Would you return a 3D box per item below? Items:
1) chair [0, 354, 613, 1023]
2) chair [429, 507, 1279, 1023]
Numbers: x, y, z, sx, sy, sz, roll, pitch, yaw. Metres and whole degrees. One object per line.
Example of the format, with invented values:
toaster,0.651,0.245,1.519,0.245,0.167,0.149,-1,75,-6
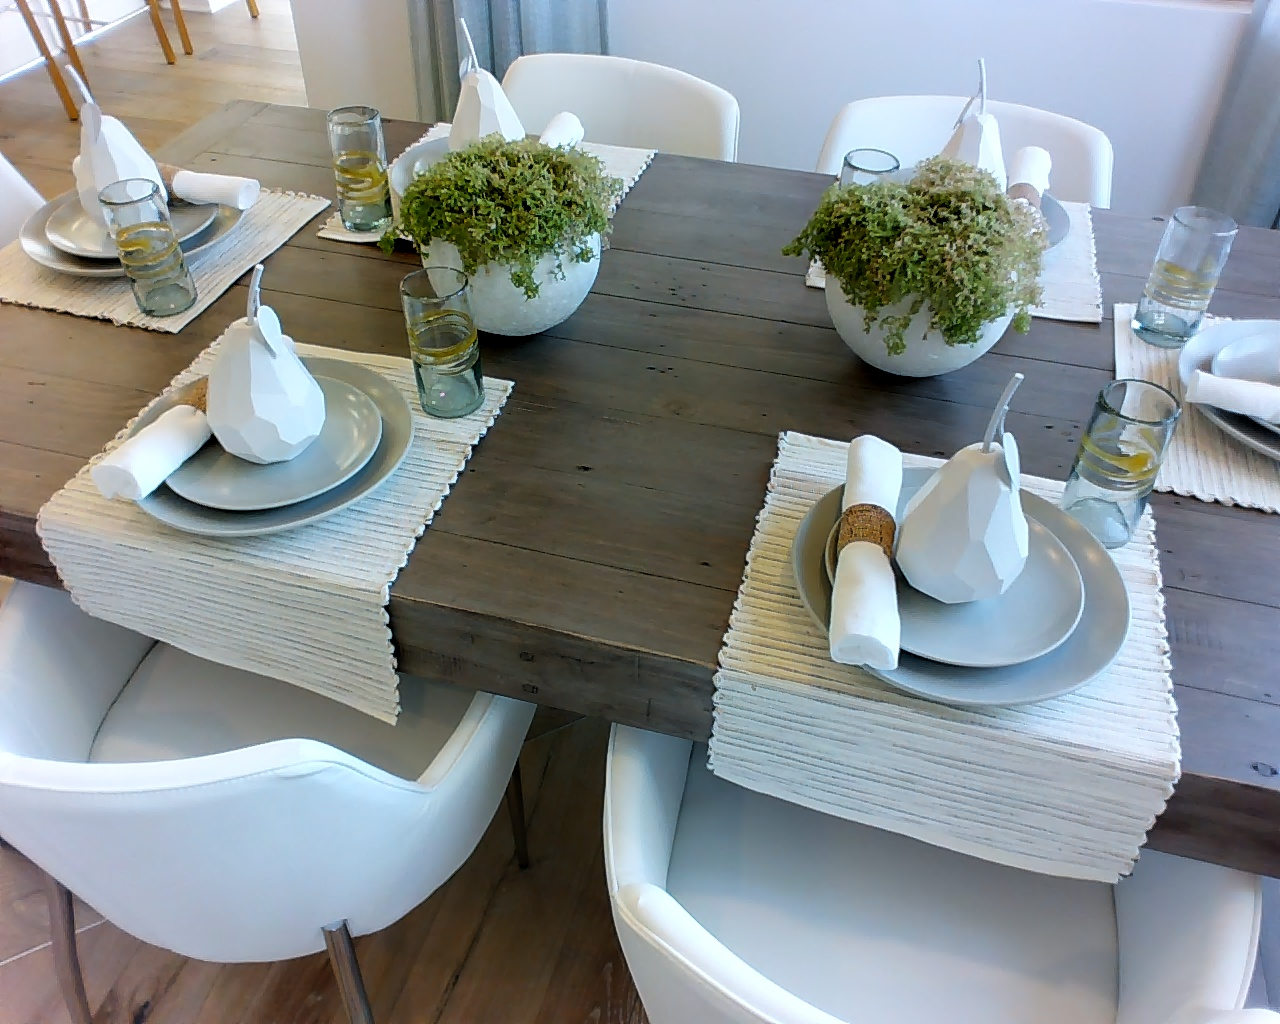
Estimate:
chair,-0.400,0.330,1.210,0.610,0.770,0.530,9,43,10
chair,0.240,0.490,1.040,0.650,0.780,0.450,11,43,12
